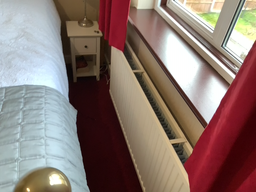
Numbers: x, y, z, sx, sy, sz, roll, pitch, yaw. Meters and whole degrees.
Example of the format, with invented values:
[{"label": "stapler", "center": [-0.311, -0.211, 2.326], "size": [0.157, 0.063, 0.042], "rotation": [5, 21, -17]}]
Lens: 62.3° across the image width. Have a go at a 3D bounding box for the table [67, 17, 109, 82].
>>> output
[{"label": "table", "center": [-0.430, -0.490, 2.240], "size": [0.360, 0.530, 0.400], "rotation": [-5, 42, -15]}]
